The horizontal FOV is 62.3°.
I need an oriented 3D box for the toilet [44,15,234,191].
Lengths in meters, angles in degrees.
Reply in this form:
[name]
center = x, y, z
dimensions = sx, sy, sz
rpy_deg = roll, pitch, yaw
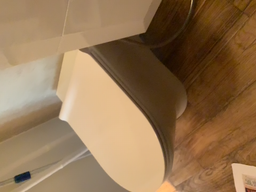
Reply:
[toilet]
center = 0.010, 0.020, 0.810
dimensions = 0.500, 0.390, 0.370
rpy_deg = 47, 136, 17
